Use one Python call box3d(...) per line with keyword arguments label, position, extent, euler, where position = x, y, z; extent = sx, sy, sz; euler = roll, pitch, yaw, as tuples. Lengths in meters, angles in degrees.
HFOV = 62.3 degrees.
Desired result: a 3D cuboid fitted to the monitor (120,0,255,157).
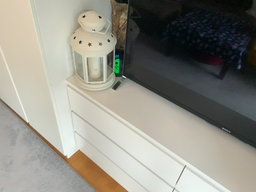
box3d(label="monitor", position=(0.480, -0.100, 0.790), extent=(1.250, 0.750, 0.050), euler=(32, 49, 24))
